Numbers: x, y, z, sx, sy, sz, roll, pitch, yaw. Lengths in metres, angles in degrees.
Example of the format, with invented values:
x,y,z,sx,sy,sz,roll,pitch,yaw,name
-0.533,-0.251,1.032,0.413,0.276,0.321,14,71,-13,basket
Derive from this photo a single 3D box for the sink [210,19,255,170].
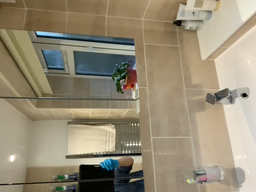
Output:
x,y,z,sx,sy,sz,roll,pitch,yaw,name
0.580,0.000,0.910,0.440,0.120,0.590,122,148,-67,sink
